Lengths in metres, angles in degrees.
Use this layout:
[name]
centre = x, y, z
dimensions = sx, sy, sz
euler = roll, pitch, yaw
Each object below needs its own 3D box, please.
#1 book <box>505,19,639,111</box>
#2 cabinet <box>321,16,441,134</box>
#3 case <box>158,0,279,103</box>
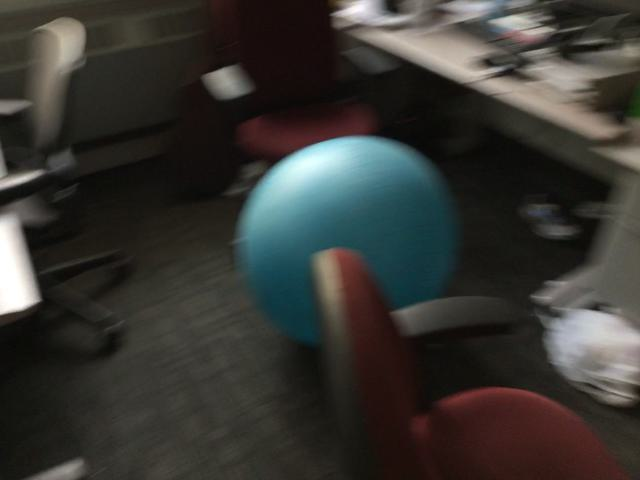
[book]
centre = 0.880, -0.580, 1.870
dimensions = 0.360, 0.130, 0.380
euler = -20, 39, -24
[cabinet]
centre = 0.300, -0.880, 3.030
dimensions = 0.370, 0.410, 0.520
euler = -20, 39, -24
[case]
centre = -0.470, -1.010, 2.660
dimensions = 0.430, 0.600, 0.310
euler = -20, 39, -24
